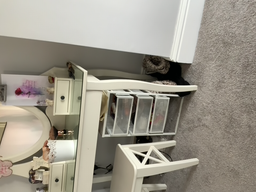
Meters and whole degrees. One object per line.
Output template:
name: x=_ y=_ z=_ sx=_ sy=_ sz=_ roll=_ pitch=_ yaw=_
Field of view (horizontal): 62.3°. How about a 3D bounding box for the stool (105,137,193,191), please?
stool: x=0.120 y=0.550 z=1.430 sx=0.320 sy=0.420 sz=0.420 roll=-139 pitch=56 yaw=-59
